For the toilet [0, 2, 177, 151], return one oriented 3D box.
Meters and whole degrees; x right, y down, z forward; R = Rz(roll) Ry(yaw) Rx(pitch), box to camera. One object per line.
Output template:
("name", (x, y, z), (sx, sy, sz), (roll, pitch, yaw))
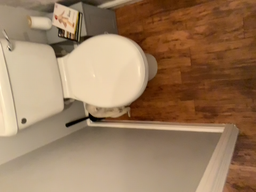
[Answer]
("toilet", (-0.220, -0.110, 1.130), (0.690, 0.790, 0.440), (-3, 100, 31))
